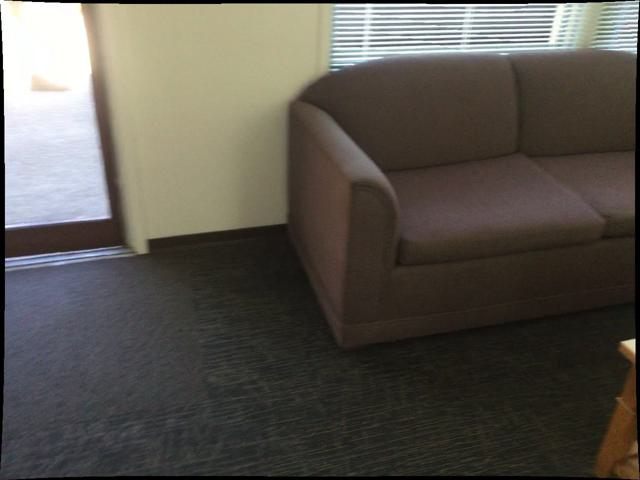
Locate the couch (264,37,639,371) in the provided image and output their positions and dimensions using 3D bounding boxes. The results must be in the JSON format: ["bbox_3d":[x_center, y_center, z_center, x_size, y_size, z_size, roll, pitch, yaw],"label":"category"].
[{"bbox_3d":[0.759,-0.270,2.290,1.777,0.801,1.000,-7,31,-14],"label":"couch"}]

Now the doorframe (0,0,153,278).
[{"bbox_3d":[-1.148,-0.791,1.870,0.939,2.012,0.230,-7,31,-14],"label":"doorframe"}]
